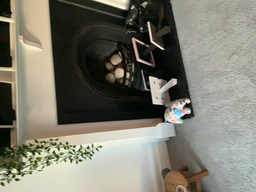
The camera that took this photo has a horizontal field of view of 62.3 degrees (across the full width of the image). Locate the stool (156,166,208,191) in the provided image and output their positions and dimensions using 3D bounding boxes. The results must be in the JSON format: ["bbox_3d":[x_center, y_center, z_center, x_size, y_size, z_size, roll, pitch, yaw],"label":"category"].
[{"bbox_3d":[0.420,0.710,1.630,0.280,0.230,0.290,-25,70,50],"label":"stool"}]

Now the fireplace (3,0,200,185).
[{"bbox_3d":[-0.230,-0.300,1.680,0.660,1.240,1.570,-21,72,51],"label":"fireplace"}]
